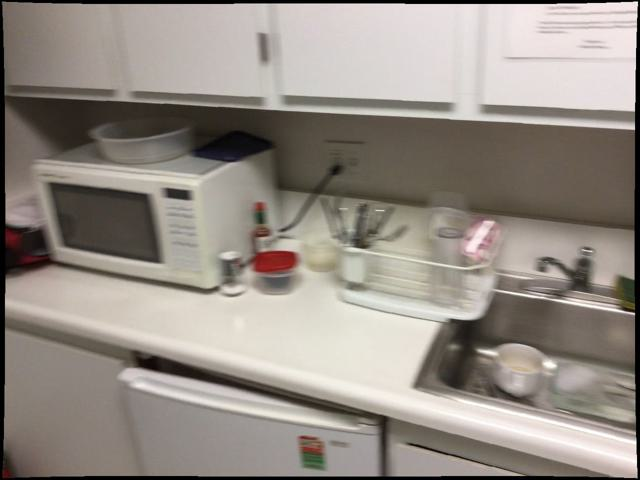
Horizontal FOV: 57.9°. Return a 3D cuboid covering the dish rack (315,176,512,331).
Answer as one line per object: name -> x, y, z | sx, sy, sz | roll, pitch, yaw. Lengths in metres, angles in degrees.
dish rack -> 0.240, 0.010, 1.430 | 0.380, 0.200, 0.350 | 9, 27, 24

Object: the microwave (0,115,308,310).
microwave -> -0.440, -0.120, 1.620 | 0.659, 0.320, 0.470 | 9, 27, 24
